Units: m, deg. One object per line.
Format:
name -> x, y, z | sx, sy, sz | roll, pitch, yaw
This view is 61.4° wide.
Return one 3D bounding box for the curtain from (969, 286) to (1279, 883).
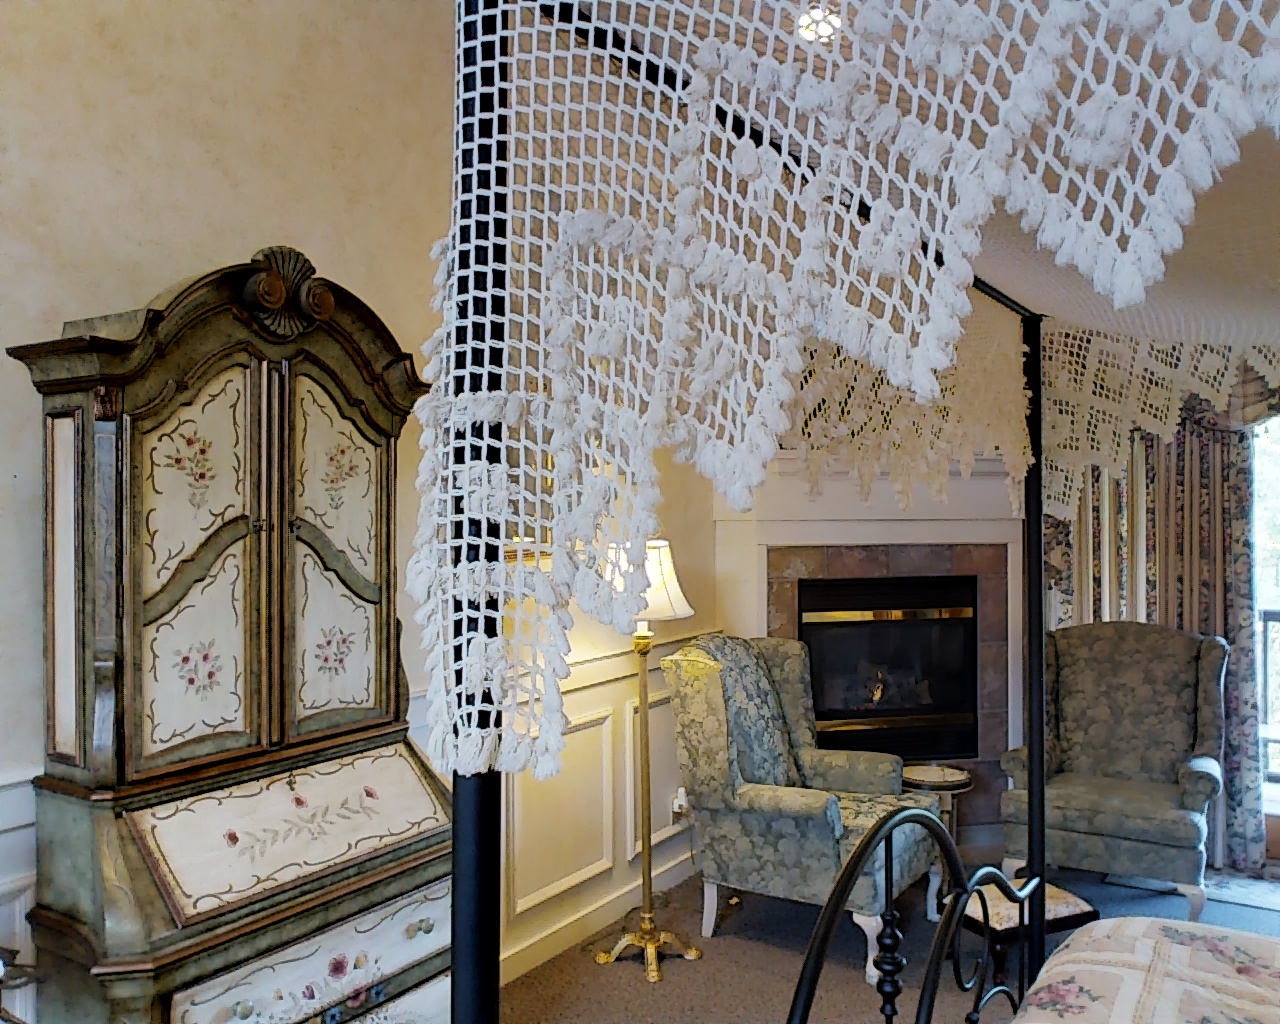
curtain -> 2.799, 0.290, 4.330 | 2.840, 2.401, 0.240 | -1, -1, 32
